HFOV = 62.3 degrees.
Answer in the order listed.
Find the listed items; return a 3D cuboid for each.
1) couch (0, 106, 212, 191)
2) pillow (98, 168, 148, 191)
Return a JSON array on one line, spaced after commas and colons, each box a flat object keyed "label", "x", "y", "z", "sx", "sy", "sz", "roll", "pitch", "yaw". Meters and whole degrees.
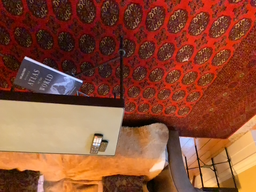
[{"label": "couch", "x": -0.620, "y": 0.780, "z": 2.100, "sx": 2.440, "sy": 0.860, "sz": 1.060, "roll": 4, "pitch": 145, "yaw": -7}, {"label": "pillow", "x": -0.030, "y": 0.910, "z": 1.940, "sx": 0.410, "sy": 0.370, "sz": 0.130, "roll": -7, "pitch": 148, "yaw": -19}]
